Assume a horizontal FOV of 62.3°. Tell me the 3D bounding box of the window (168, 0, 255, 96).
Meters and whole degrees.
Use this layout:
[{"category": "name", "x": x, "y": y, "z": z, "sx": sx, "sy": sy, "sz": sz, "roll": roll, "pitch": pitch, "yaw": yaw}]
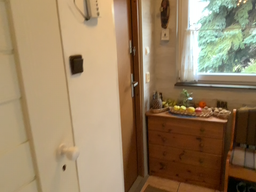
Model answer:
[{"category": "window", "x": 0.980, "y": -0.690, "z": 2.200, "sx": 1.060, "sy": 1.300, "sz": 0.280, "roll": 5, "pitch": 17, "yaw": 27}]
